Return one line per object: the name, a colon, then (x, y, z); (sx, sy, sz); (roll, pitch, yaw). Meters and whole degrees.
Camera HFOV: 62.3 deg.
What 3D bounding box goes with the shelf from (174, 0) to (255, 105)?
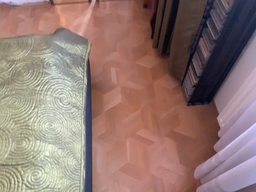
shelf: (0.460, -0.310, 1.180); (0.190, 0.820, 0.350); (-3, 57, -3)
